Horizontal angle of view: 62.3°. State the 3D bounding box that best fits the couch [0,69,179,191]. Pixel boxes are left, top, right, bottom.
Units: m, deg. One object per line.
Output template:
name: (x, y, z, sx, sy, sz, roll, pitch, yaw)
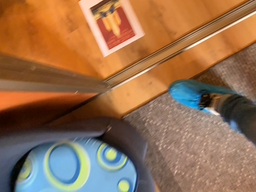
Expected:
couch: (-0.220, 0.330, 0.680, 0.600, 0.680, 0.520, -30, 85, 9)
